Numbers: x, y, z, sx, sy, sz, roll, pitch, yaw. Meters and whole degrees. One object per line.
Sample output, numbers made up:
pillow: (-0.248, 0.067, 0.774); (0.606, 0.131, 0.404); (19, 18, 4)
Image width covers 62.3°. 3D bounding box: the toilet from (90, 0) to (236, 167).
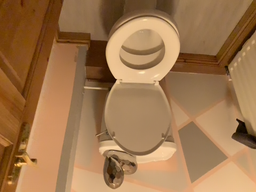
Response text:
toilet: (0.070, -0.110, 1.160); (0.470, 0.800, 0.690); (5, 149, -7)
